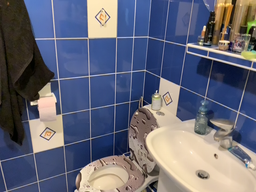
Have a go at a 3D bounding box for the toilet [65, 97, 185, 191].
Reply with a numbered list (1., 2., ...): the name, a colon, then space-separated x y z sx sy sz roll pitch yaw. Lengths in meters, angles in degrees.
1. toilet: -0.040 0.500 1.510 0.650 0.800 0.410 -10 26 -28
